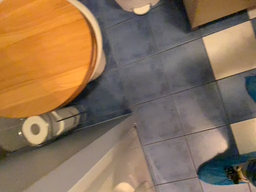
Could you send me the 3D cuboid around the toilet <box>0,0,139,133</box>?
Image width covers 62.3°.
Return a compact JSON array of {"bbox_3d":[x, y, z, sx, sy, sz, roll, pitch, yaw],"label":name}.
[{"bbox_3d":[-0.420,-0.120,0.700,0.680,0.790,0.450,-18,90,14],"label":"toilet"}]
